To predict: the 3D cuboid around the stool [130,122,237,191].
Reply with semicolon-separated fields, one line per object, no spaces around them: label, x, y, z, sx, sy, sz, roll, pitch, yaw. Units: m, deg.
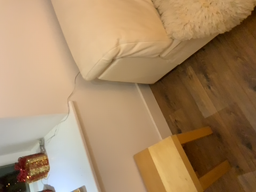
stool;0.320;0.370;1.190;0.320;0.450;0.290;-38;66;35
